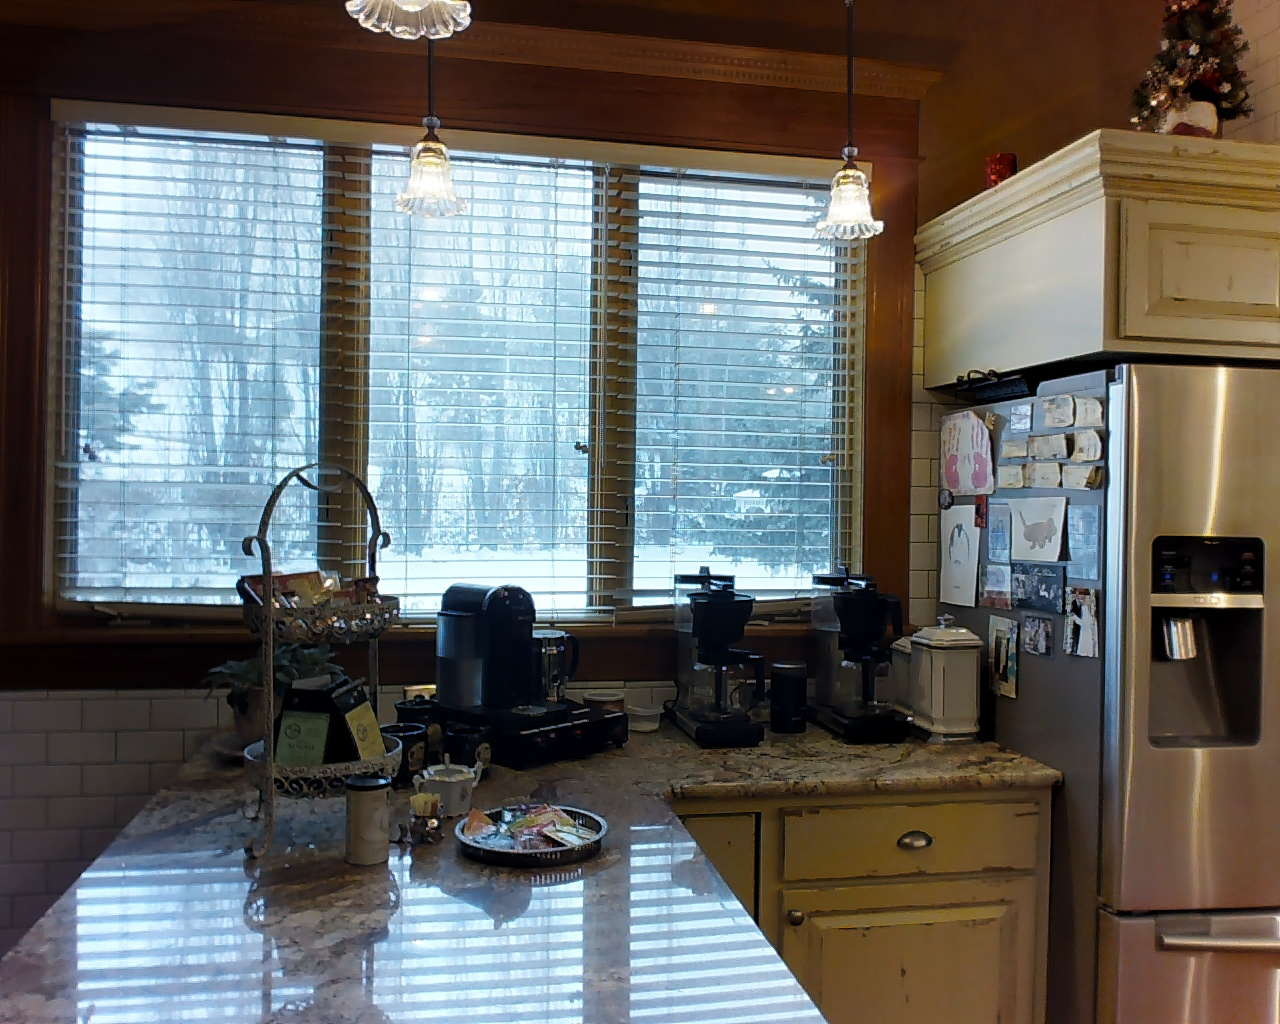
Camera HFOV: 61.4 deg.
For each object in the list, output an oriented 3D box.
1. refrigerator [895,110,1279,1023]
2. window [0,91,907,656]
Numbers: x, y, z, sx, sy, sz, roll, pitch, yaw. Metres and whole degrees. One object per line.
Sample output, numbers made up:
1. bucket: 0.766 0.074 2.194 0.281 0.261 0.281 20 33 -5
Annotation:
1. refrigerator: 1.300 0.380 2.580 1.010 2.251 0.960 1 0 -12
2. window: -0.400 -0.310 2.820 2.259 1.310 0.190 1 0 -12
